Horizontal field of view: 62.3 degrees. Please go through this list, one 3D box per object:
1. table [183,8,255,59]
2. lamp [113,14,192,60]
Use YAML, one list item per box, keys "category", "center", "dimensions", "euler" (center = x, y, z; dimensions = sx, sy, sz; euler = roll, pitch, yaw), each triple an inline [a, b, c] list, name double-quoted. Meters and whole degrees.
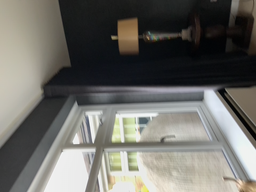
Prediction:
- category: "table"
  center: [1.060, -0.760, 2.550]
  dimensions: [0.490, 0.670, 0.480]
  euler: [-85, -8, -64]
- category: "lamp"
  center: [0.290, -0.740, 2.630]
  dimensions: [0.410, 0.880, 0.440]
  euler: [-85, -8, -65]
